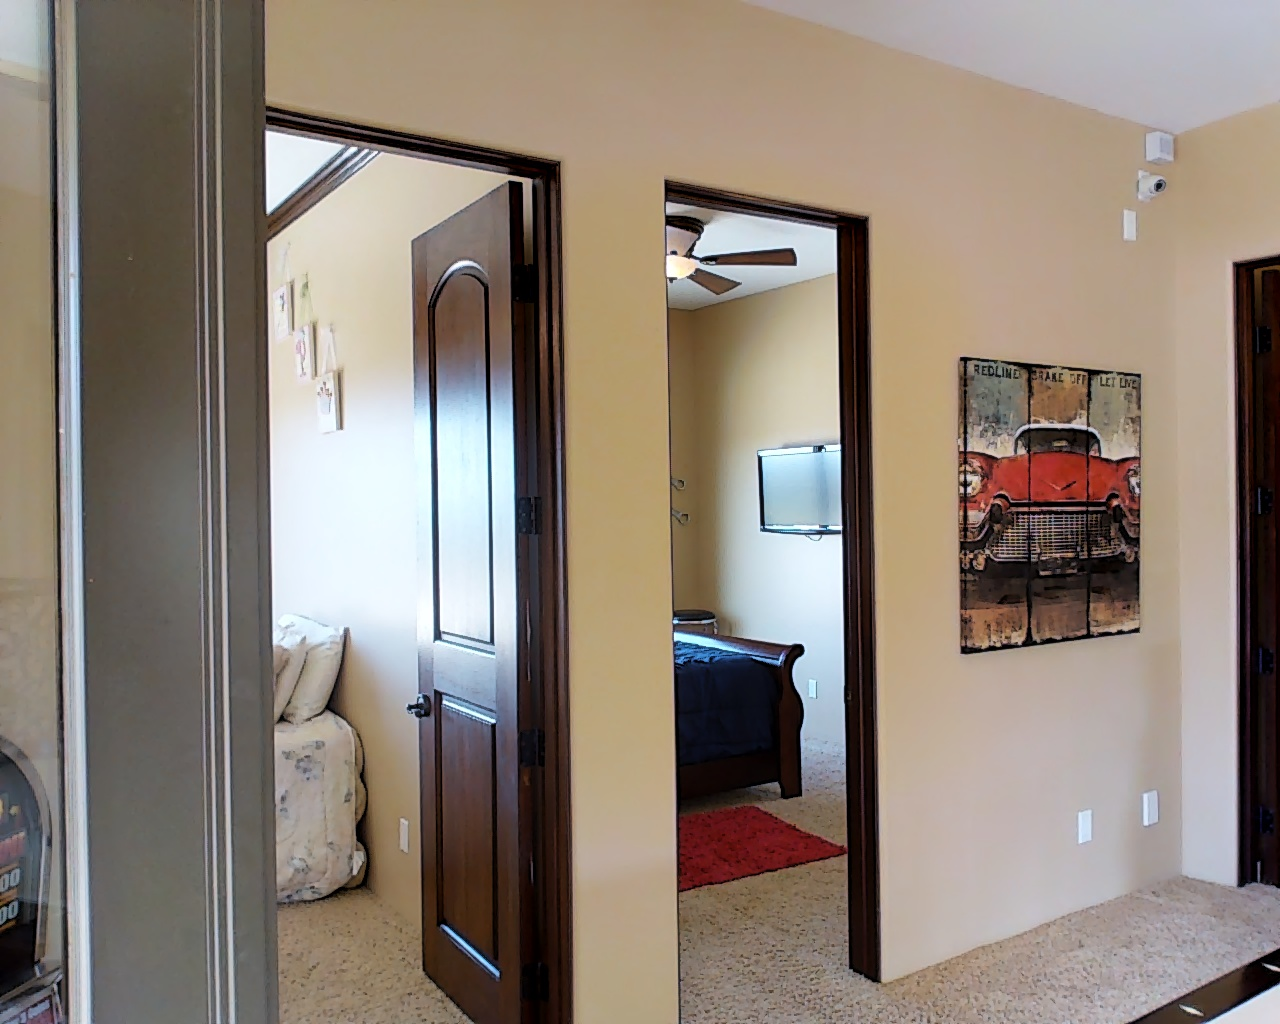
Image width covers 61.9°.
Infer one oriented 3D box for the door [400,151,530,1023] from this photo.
[{"bbox_3d":[-0.550,0.270,3.240,0.060,2.490,0.800,-1,1,-33],"label":"door"}]
